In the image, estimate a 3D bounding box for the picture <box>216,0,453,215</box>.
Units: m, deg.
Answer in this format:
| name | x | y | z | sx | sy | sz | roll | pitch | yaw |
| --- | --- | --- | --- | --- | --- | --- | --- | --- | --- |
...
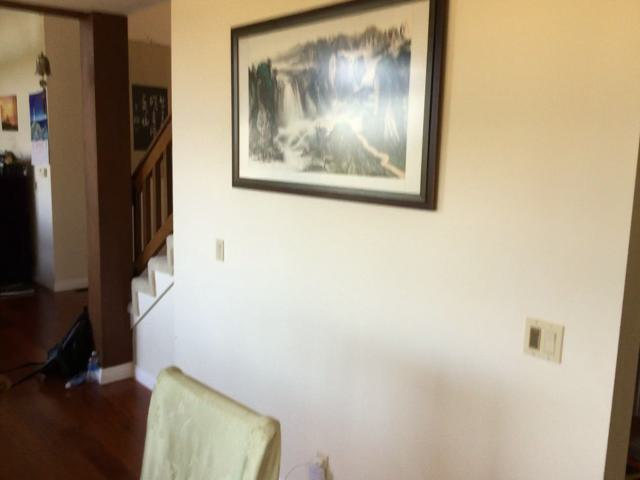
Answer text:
| name | x | y | z | sx | sy | sz | roll | pitch | yaw |
| --- | --- | --- | --- | --- | --- | --- | --- | --- | --- |
| picture | -0.040 | -0.530 | 2.300 | 0.050 | 0.710 | 1.250 | -9 | 15 | -43 |
